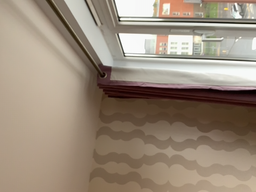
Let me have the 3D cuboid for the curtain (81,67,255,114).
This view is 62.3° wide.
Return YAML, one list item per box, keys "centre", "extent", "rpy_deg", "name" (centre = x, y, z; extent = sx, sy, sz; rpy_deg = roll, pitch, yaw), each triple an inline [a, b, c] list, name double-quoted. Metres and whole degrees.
- centre: [0.780, 0.000, 1.730]
  extent: [0.490, 2.240, 0.160]
  rpy_deg: [65, -149, -74]
  name: "curtain"
